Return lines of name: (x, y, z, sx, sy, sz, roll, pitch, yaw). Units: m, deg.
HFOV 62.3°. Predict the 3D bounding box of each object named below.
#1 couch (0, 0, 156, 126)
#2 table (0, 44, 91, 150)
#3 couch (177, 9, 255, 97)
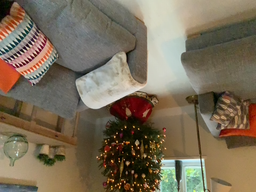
couch: (-0.590, -0.390, 1.720, 1.000, 0.800, 1.350, -20, 147, 40)
table: (-1.280, 0.140, 2.920, 0.440, 0.860, 1.790, -11, 152, 27)
couch: (1.100, -0.390, 2.010, 1.080, 0.420, 0.650, -11, 152, 27)
